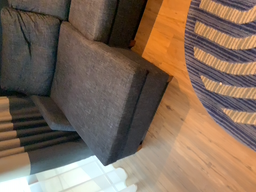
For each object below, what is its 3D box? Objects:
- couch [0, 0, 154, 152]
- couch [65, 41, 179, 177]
[{"bbox_3d":[-0.430,-0.970,1.720,0.990,0.890,2.630,40,122,37],"label":"couch"},{"bbox_3d":[-0.090,0.090,1.730,0.490,0.510,0.880,40,122,37],"label":"couch"}]
